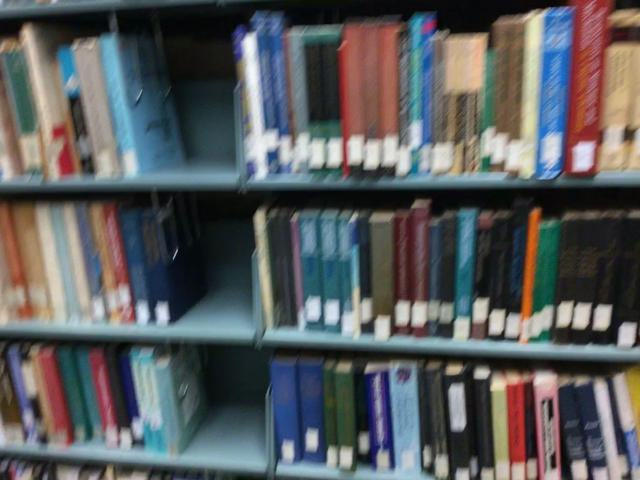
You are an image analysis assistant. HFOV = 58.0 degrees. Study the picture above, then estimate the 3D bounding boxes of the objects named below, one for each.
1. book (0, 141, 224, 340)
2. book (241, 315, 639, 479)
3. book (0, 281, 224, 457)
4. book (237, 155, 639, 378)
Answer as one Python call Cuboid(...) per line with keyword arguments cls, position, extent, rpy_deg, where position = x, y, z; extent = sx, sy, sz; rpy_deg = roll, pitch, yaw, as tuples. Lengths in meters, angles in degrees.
Cuboid(cls="book", position=(-0.650, 0.010, 1.230), extent=(0.800, 0.330, 0.240), rpy_deg=(-4, 15, 10))
Cuboid(cls="book", position=(0.280, 0.330, 1.110), extent=(0.810, 0.300, 0.150), rpy_deg=(-4, 15, 10))
Cuboid(cls="book", position=(-0.650, 0.300, 1.330), extent=(0.780, 0.310, 0.210), rpy_deg=(-4, 15, 10))
Cuboid(cls="book", position=(0.330, 0.040, 1.050), extent=(0.880, 0.300, 0.250), rpy_deg=(-4, 15, 10))
